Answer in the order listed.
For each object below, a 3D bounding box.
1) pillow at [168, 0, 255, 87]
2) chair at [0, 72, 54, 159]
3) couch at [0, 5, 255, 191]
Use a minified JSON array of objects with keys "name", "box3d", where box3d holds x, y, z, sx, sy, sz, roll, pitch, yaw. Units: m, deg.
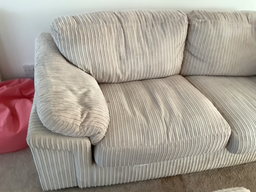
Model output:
[{"name":"pillow","box3d":[0.790,-0.380,1.620,0.810,0.480,0.200,12,48,-27]},{"name":"chair","box3d":[-0.910,0.120,1.570,0.620,0.260,0.640,-4,39,-12]},{"name":"couch","box3d":[0.430,-0.080,1.540,2.040,0.800,0.990,-4,39,-12]}]
